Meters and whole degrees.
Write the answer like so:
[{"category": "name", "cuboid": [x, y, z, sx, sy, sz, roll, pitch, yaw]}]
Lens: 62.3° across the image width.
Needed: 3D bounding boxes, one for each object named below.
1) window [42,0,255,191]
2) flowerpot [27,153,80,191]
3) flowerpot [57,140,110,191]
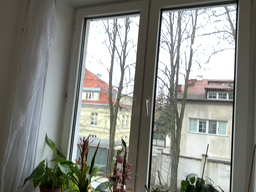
[{"category": "window", "cuboid": [0.120, 0.020, 1.550, 1.580, 1.840, 0.180, 3, -5, 25]}, {"category": "flowerpot", "cuboid": [-0.580, 0.670, 1.660, 0.260, 0.360, 0.270, 3, -5, 22]}, {"category": "flowerpot", "cuboid": [-0.330, 0.610, 1.560, 0.260, 0.510, 0.240, 3, -5, 24]}]
